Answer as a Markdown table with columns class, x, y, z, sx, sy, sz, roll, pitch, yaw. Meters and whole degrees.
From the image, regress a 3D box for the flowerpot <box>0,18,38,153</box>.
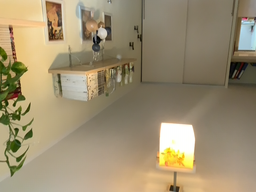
| class | x | y | z | sx | sy | sz | roll | pitch | yaw |
| --- | --- | --- | --- | --- | --- | --- | --- | --- | --- |
| flowerpot | -0.610 | -0.050 | 0.930 | 0.200 | 0.550 | 0.290 | 6 | -163 | 20 |

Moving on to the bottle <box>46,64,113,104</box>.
| class | x | y | z | sx | sy | sz | roll | pitch | yaw |
| --- | --- | --- | --- | --- | --- | --- | --- | --- | --- |
| bottle | -0.390 | -0.130 | 1.830 | 0.340 | 0.230 | 0.470 | 6 | -163 | 21 |
